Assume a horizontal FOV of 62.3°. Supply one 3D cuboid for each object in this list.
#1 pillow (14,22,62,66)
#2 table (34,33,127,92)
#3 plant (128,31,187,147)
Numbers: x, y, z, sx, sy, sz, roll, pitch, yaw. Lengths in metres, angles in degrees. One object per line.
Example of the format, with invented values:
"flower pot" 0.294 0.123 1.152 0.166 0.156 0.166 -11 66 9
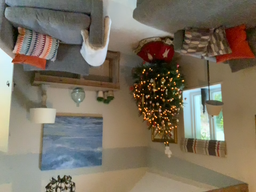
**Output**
"pillow" -1.190 -0.680 2.830 0.120 0.350 0.600 -37 143 23
"table" -0.900 -0.610 4.350 1.790 0.860 0.440 4 171 -29
"plant" 0.620 -0.070 4.240 0.990 1.980 1.100 -2 172 14
